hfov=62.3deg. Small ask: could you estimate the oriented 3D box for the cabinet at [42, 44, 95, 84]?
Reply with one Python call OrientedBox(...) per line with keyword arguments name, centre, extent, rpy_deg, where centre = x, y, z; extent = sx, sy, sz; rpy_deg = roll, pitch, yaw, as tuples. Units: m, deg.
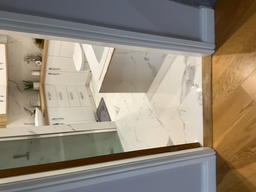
OrientedBox(name="cabinet", centre=(-1.050, -0.530, 3.700), extent=(0.320, 0.780, 0.560), rpy_deg=(65, 143, 37))
